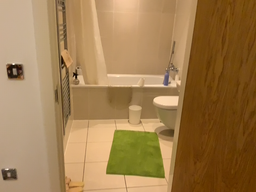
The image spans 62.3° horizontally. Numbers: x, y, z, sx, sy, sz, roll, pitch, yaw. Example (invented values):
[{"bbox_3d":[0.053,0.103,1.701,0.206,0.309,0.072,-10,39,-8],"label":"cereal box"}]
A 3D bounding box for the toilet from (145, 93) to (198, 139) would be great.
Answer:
[{"bbox_3d":[0.570,0.260,2.920,0.570,0.500,0.400,0,19,-9],"label":"toilet"}]

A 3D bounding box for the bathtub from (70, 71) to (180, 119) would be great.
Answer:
[{"bbox_3d":[-0.070,-0.040,3.550,1.620,0.570,0.760,1,19,-7],"label":"bathtub"}]

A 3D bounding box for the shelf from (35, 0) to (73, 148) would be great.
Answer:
[{"bbox_3d":[-0.620,-0.210,1.870,0.170,1.230,0.470,-1,20,-10],"label":"shelf"}]
